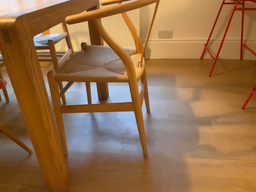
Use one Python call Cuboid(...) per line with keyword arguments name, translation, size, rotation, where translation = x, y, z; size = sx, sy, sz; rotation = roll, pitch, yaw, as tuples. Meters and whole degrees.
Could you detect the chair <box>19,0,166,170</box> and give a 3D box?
Cuboid(name="chair", translation=(-0.090, -0.120, 1.150), size=(0.500, 0.790, 0.580), rotation=(2, 29, 5))
